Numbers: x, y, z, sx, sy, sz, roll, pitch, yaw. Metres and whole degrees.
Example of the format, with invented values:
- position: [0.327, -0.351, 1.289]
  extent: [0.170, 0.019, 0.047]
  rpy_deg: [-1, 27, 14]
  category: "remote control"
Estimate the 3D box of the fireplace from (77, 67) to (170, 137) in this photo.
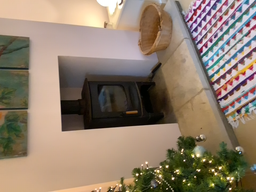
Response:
- position: [-0.070, 0.050, 2.080]
  extent: [0.320, 0.760, 0.550]
  rpy_deg: [123, 140, -54]
  category: "fireplace"
